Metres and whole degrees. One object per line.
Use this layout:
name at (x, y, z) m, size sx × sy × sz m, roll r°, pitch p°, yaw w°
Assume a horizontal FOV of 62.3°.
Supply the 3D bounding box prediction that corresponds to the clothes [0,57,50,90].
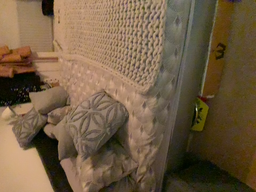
clothes at (-1.890, -0.320, 3.170) m, size 0.210 × 1.290 × 0.450 m, roll 1°, pitch 98°, yaw 57°
